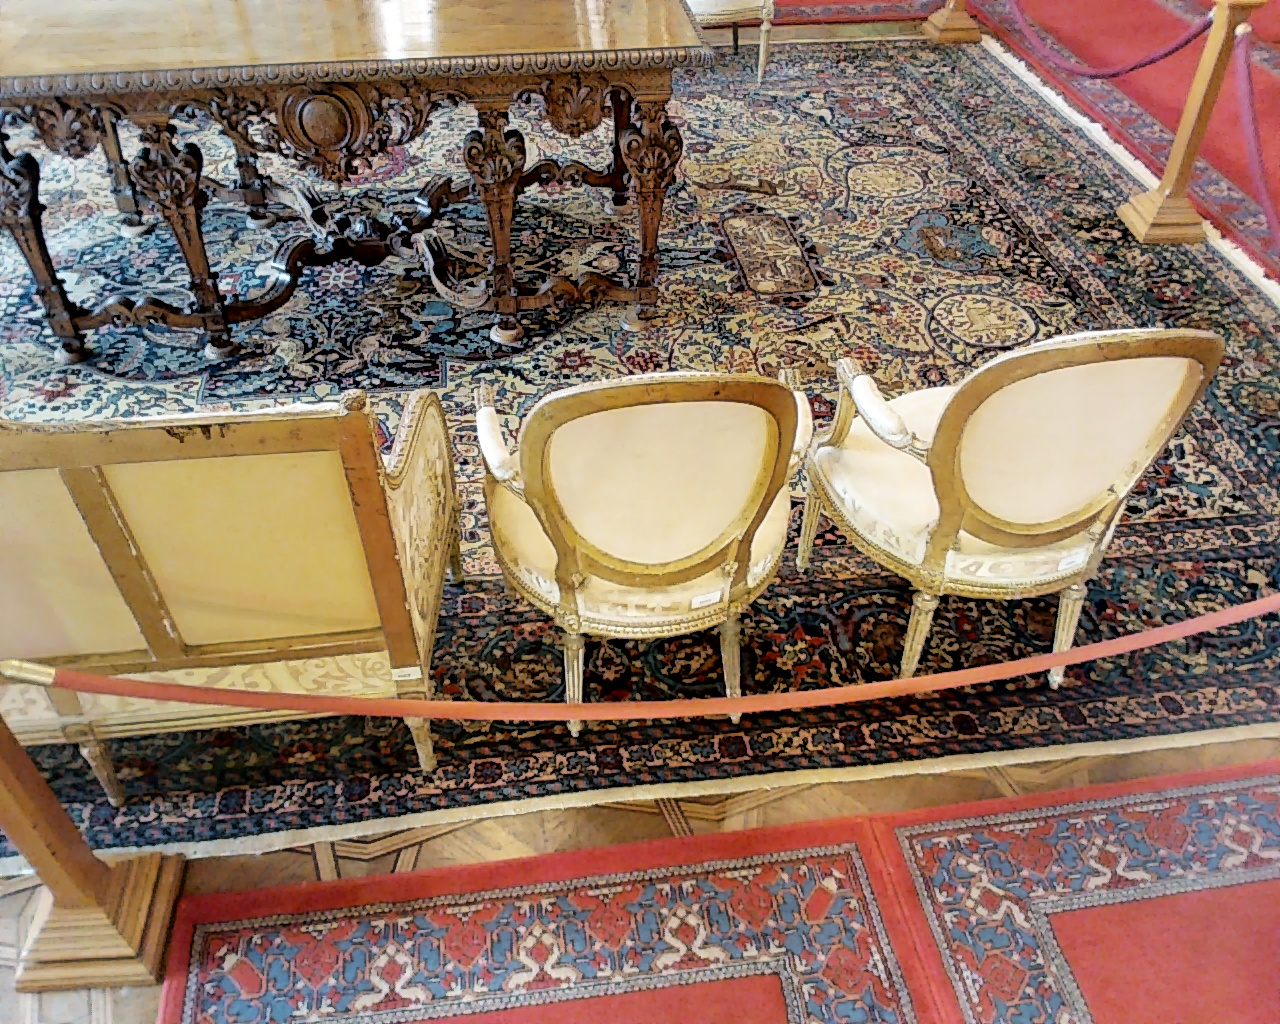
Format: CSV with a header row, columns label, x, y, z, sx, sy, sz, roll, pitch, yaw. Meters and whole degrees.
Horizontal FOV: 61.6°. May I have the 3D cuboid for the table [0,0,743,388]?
label,x,y,z,sx,sy,sz,roll,pitch,yaw
table,-0.780,-1.080,3.190,1.959,0.830,1.020,-5,42,-5
